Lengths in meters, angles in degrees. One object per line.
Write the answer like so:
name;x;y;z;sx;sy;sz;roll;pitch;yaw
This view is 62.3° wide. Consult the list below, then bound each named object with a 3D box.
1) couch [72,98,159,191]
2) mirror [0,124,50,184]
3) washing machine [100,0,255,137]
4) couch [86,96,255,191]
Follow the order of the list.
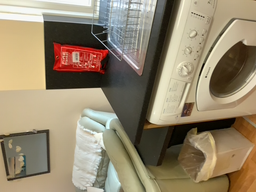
couch;-0.370;1.230;3.550;1.160;0.870;2.040;-125;38;-50
mirror;-1.680;0.980;3.530;0.150;0.670;1.080;-126;39;-50
washing machine;0.390;-0.280;1.230;0.680;0.900;0.610;-126;39;-51
couch;0.240;0.800;2.000;1.110;0.960;1.150;-128;41;-52
